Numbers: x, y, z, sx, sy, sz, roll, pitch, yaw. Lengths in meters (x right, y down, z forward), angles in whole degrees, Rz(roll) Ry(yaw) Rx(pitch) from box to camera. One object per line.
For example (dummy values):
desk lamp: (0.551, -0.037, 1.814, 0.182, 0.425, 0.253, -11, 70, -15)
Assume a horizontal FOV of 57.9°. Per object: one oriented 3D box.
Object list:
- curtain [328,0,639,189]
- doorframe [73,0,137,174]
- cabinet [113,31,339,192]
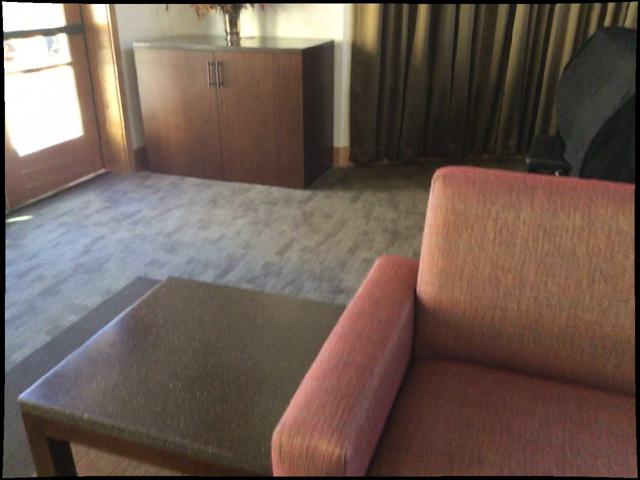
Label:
curtain: (2.168, -1.281, 3.530, 4.166, 1.832, 0.710, 8, 24, 15)
doorframe: (-1.459, -1.331, 3.840, 0.280, 1.792, 0.090, 8, 24, 15)
cabinet: (-0.619, -0.931, 4.030, 1.369, 0.921, 0.580, 8, 24, 15)
